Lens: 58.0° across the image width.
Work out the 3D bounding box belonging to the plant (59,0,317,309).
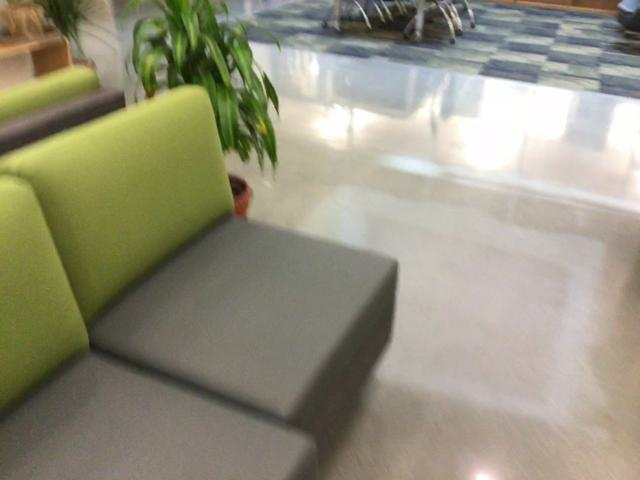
[{"bbox_3d":[-0.430,-0.450,2.170,0.600,1.140,0.620,15,34,20],"label":"plant"}]

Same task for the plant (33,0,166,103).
[{"bbox_3d":[-1.410,-1.370,3.730,0.510,0.760,0.530,15,34,19],"label":"plant"}]

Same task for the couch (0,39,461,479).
[{"bbox_3d":[-0.660,0.550,0.750,0.900,0.960,2.590,16,35,21],"label":"couch"}]
